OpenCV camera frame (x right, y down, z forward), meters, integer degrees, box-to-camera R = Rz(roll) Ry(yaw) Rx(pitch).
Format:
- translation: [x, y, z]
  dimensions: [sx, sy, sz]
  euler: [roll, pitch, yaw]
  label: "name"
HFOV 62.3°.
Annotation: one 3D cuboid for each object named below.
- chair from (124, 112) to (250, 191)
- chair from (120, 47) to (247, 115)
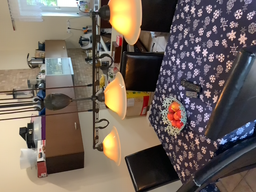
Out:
- translation: [0.550, 0.550, 2.150]
  dimensions: [0.530, 1.040, 0.430]
  euler: [103, 154, -44]
  label: "chair"
- translation: [0.510, -0.190, 2.120]
  dimensions: [0.490, 1.060, 0.430]
  euler: [-121, 31, -53]
  label: "chair"
